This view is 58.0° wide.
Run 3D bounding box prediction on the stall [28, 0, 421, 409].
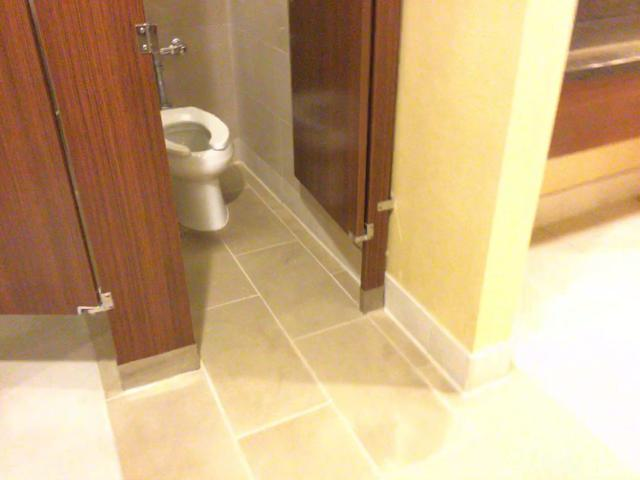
[{"bbox_3d":[-0.480,-0.630,2.120,0.930,1.560,1.580,-16,31,-21],"label":"stall"}]
